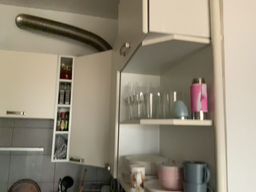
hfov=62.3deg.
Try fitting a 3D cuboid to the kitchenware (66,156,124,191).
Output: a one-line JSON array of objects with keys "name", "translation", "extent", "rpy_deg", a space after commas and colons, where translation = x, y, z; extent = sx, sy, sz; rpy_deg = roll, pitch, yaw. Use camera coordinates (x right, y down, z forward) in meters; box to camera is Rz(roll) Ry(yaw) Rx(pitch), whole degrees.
[{"name": "kitchenware", "translation": [-0.320, 0.800, 1.980], "extent": [0.490, 0.410, 0.330], "rpy_deg": [4, -8, -16]}]

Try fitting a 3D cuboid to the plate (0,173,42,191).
[{"name": "plate", "translation": [-0.970, 0.840, 1.920], "extent": [0.330, 0.250, 0.110], "rpy_deg": [4, -8, -15]}]

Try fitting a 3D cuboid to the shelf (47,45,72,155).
[{"name": "shelf", "translation": [-0.630, 0.040, 2.000], "extent": [0.140, 0.960, 0.300], "rpy_deg": [4, -8, -14]}]
